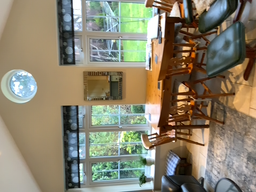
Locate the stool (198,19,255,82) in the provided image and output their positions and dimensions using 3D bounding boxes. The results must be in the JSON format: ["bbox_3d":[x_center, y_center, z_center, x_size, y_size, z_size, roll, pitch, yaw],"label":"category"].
[{"bbox_3d":[1.010,-0.400,2.020,0.490,0.440,0.410,129,139,-75],"label":"stool"}]

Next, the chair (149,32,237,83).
[{"bbox_3d":[0.730,-0.460,2.550,0.430,0.830,0.430,-101,14,-45],"label":"chair"}]

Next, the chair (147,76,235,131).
[{"bbox_3d":[0.720,0.070,2.620,0.500,0.840,0.480,-109,20,-60],"label":"chair"}]
